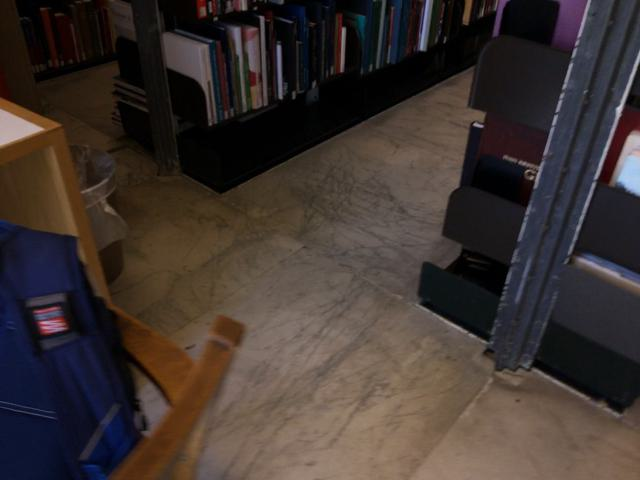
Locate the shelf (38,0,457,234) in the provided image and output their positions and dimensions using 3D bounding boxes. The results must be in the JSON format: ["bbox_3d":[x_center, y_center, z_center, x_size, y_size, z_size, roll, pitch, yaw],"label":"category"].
[{"bbox_3d":[-0.200,-1.310,2.290,0.890,1.870,1.620,28,44,31],"label":"shelf"}]

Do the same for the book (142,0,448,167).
[{"bbox_3d":[0.000,-0.830,2.430,0.360,0.450,1.430,27,44,31],"label":"book"}]

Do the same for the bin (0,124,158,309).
[{"bbox_3d":[-0.730,-0.080,1.730,0.360,0.380,0.250,27,44,31],"label":"bin"}]
